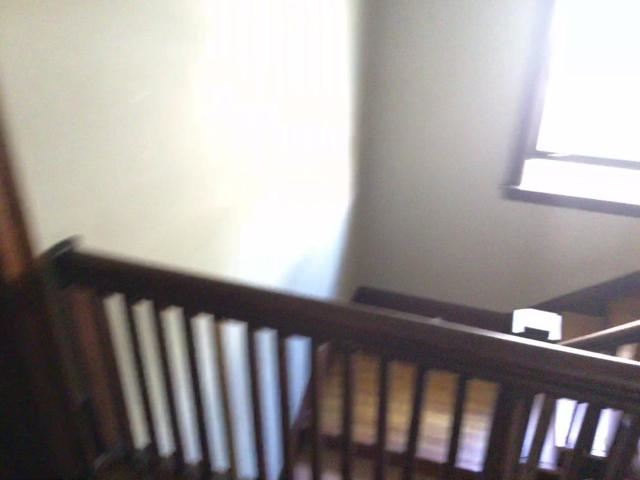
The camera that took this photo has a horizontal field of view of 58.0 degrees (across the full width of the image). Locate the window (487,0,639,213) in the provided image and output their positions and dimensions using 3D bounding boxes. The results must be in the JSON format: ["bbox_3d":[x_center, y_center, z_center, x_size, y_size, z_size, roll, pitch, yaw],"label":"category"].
[{"bbox_3d":[1.540,-0.910,3.180,1.070,1.470,0.300,6,26,19],"label":"window"}]

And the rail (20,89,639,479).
[{"bbox_3d":[0.980,1.030,2.270,2.710,2.810,1.910,6,26,19],"label":"rail"}]
